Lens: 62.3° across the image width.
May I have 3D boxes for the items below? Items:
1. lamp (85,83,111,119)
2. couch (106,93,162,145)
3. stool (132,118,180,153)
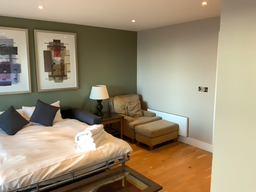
[{"bbox_3d":[-0.630,0.090,4.450,0.360,0.660,0.420,-7,11,-37],"label":"lamp"},{"bbox_3d":[0.120,0.450,4.780,0.870,0.860,0.940,-7,11,-37],"label":"couch"},{"bbox_3d":[0.560,0.760,4.250,0.860,0.400,0.480,-7,11,-37],"label":"stool"}]
